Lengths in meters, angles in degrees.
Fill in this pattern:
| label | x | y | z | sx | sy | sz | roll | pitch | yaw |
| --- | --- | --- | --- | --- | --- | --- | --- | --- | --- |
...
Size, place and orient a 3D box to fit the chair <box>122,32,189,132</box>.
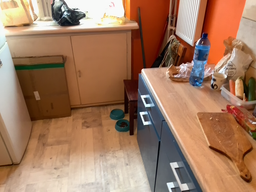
| label | x | y | z | sx | sy | sz | roll | pitch | yaw |
| --- | --- | --- | --- | --- | --- | --- | --- | --- | --- |
| chair | 0.230 | -0.140 | 2.220 | 0.530 | 0.920 | 0.440 | -4 | 32 | -7 |
